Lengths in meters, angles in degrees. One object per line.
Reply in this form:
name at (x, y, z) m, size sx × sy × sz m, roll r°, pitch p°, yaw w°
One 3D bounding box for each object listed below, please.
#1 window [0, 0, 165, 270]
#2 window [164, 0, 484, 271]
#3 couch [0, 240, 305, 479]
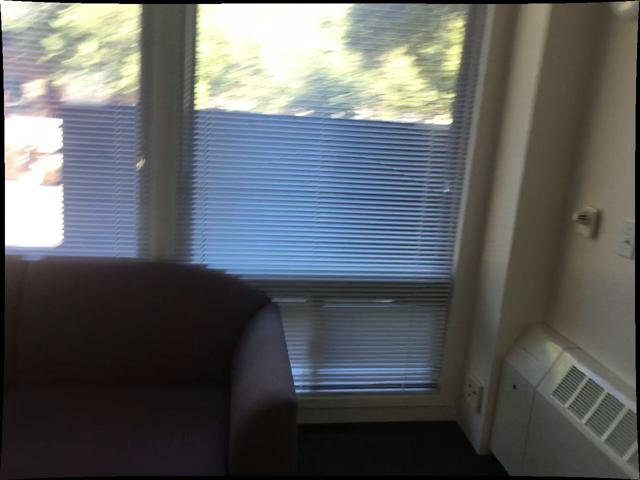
window at (-1.158, -0.611, 2.010) m, size 1.158 × 1.412 × 0.240 m, roll 1°, pitch 14°, yaw -9°
window at (0.000, -0.601, 2.180) m, size 1.108 × 1.402 × 0.290 m, roll 1°, pitch 14°, yaw -8°
couch at (-1.008, 0.511, 1.880) m, size 1.777 × 0.801 × 1.000 m, roll 1°, pitch 14°, yaw -9°
